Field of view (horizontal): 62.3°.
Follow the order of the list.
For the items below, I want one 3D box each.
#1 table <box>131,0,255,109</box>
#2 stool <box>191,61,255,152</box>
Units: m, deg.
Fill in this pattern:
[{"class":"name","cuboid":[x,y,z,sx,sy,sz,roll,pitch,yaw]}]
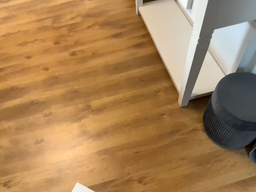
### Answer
[{"class":"table","cuboid":[0.360,-0.680,1.460,0.430,0.870,1.200,-14,57,-4]},{"class":"stool","cuboid":[0.610,0.070,1.220,0.330,0.350,0.320,-14,57,-4]}]
